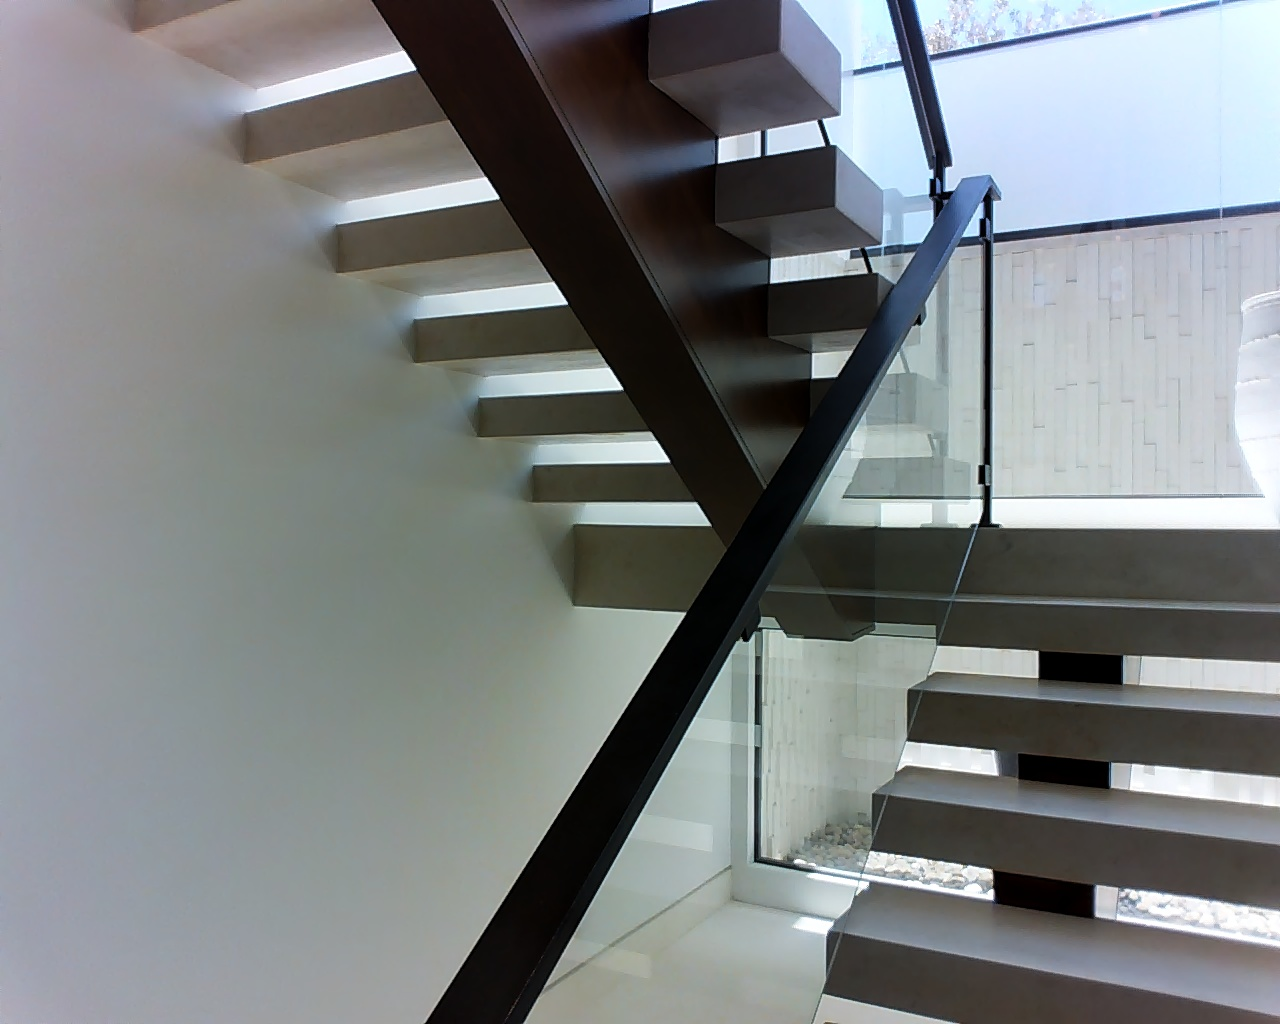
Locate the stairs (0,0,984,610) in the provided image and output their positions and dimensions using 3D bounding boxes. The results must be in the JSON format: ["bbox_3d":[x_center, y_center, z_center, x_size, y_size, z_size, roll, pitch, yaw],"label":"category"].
[{"bbox_3d":[-0.140,-0.610,2.350,1.210,1.450,2.410,0,-1,30],"label":"stairs"}]
